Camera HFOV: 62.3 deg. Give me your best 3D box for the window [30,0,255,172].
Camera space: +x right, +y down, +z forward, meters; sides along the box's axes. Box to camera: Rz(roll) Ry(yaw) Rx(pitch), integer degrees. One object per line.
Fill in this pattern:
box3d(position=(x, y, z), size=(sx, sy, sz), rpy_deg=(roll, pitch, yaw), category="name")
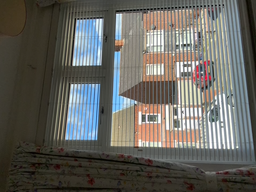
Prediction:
box3d(position=(0.100, -0.290, 1.870), size=(0.270, 1.640, 1.750), rpy_deg=(66, -156, -74), category="window")
